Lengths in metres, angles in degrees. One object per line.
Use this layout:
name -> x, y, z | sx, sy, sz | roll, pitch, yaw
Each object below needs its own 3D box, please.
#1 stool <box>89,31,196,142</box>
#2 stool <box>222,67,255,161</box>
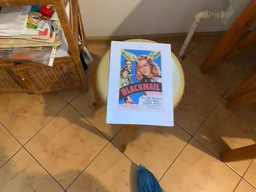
stool -> 0.040, 0.000, 0.910 | 0.330, 0.440, 0.310 | 3, 69, -2
stool -> 0.690, 0.080, 0.920 | 0.310, 0.490, 0.360 | 6, 69, -1
